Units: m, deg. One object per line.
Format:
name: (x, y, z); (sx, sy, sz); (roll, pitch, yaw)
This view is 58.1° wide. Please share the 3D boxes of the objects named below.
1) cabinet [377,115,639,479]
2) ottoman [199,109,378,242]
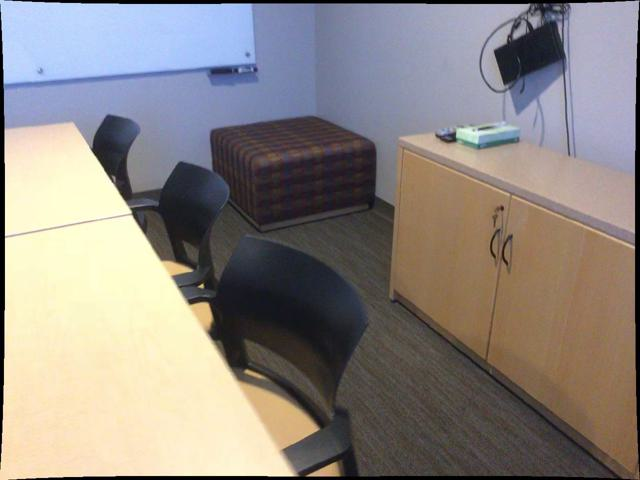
cabinet: (0.789, 0.110, 2.020); (0.519, 0.791, 1.210); (-12, 29, -28)
ottoman: (-0.210, -0.431, 3.470); (0.789, 0.491, 0.750); (-12, 29, -28)
